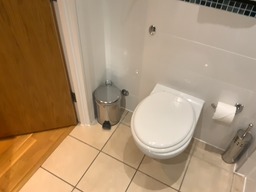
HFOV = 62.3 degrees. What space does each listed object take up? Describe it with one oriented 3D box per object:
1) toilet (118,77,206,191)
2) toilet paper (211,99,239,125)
[{"bbox_3d":[0.220,0.250,1.430,0.360,0.450,0.520,22,48,18],"label":"toilet"},{"bbox_3d":[0.610,0.100,1.340,0.120,0.120,0.070,20,48,16],"label":"toilet paper"}]
